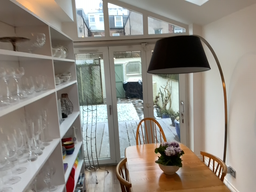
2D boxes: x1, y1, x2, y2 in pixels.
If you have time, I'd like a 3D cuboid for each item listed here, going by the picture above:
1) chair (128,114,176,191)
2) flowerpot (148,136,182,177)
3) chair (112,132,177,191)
[{"bbox_3d":[0.270,0.760,2.520,0.440,0.960,0.480,-4,9,-5],"label":"chair"},{"bbox_3d":[0.310,0.510,1.830,0.240,0.240,0.260,-4,9,-1],"label":"flowerpot"},{"bbox_3d":[0.140,0.870,1.870,0.480,0.960,0.440,-4,9,-2],"label":"chair"}]
